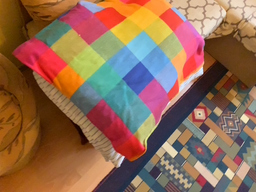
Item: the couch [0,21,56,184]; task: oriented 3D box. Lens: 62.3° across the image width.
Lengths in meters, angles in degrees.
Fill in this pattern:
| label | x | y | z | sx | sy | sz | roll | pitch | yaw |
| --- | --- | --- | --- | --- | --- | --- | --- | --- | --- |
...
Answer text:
| label | x | y | z | sx | sy | sz | roll | pitch | yaw |
| --- | --- | --- | --- | --- | --- | --- | --- | --- | --- |
| couch | -0.740 | 0.070 | 1.040 | 0.530 | 0.680 | 0.600 | 11 | 65 | -8 |
